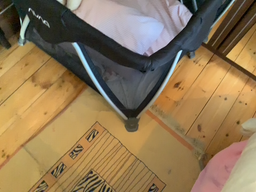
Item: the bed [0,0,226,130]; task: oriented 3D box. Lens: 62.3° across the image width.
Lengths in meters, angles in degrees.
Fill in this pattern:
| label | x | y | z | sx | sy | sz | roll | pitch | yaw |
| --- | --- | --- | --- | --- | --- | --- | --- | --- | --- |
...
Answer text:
| label | x | y | z | sx | sy | sz | roll | pitch | yaw |
| --- | --- | --- | --- | --- | --- | --- | --- | --- | --- |
| bed | -0.130 | -0.500 | 1.190 | 1.050 | 0.690 | 0.770 | 36 | 71 | 9 |
